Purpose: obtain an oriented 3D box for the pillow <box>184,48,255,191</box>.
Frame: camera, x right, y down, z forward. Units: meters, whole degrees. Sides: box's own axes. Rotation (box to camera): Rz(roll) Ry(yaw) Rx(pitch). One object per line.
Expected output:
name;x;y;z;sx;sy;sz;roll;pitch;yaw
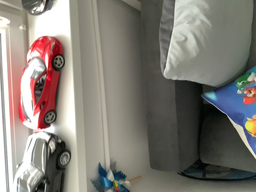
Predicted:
pillow;0.540;0.060;0.820;0.440;0.180;0.410;-43;68;27
